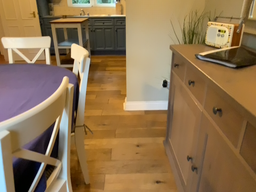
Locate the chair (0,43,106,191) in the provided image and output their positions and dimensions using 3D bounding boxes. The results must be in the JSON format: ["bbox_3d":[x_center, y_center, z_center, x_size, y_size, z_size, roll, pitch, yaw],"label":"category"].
[{"bbox_3d":[-0.470,0.150,1.410,0.500,0.880,0.420,-11,26,-22],"label":"chair"}]
